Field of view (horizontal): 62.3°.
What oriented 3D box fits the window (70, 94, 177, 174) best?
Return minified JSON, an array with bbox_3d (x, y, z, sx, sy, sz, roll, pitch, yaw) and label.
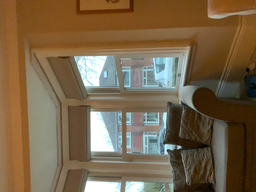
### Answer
[{"bbox_3d":[-0.080,0.600,3.430,0.110,1.700,1.250,-27,-63,-84],"label":"window"}]
